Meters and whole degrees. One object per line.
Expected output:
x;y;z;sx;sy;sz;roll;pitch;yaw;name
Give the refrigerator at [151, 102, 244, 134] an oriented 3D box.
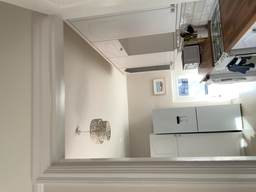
1.500;0.500;4.840;0.690;1.850;0.600;24;-117;-78;refrigerator
